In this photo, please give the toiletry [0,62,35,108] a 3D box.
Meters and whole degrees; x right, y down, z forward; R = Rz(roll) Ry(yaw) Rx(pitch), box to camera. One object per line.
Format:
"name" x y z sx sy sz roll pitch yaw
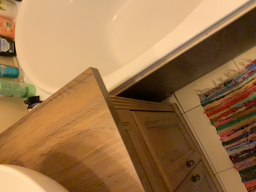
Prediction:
"toiletry" -0.460 -0.040 0.790 0.090 0.160 0.140 -29 74 22
